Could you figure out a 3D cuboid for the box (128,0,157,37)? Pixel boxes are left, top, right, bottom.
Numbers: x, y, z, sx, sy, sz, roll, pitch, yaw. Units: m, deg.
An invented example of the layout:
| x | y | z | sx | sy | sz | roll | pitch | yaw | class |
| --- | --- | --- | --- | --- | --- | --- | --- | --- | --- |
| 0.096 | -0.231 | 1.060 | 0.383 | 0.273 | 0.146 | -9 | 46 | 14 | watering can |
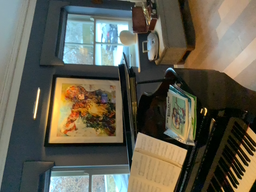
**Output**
| x | y | z | sx | sy | sz | roll | pitch | yaw | class |
| --- | --- | --- | --- | --- | --- | --- | --- | --- | --- |
| 0.230 | -1.440 | 3.730 | 0.480 | 0.370 | 0.590 | 111 | 158 | -65 | box |
